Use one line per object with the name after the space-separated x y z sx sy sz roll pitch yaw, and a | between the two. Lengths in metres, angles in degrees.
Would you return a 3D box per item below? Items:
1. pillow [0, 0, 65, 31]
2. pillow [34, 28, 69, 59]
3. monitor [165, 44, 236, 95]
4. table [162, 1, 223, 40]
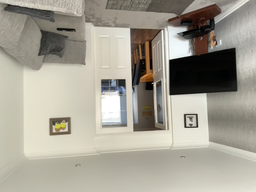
-0.820 -0.830 1.740 0.440 0.380 0.190 -29 -176 -12 | pillow
-1.070 -0.740 2.990 0.330 0.320 0.110 -35 -175 -33 | pillow
1.160 -0.400 3.560 1.140 0.680 0.070 -4 176 41 | monitor
1.060 -1.220 3.530 0.860 0.280 0.430 -5 176 42 | table
